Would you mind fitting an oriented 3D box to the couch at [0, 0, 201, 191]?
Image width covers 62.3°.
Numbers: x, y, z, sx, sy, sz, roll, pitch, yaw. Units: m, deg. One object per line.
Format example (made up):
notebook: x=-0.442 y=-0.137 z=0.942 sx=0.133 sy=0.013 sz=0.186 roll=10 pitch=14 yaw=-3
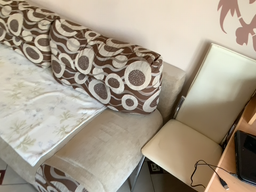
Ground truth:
couch: x=-0.720 y=-0.170 z=1.570 sx=2.000 sy=0.880 sz=0.980 roll=30 pitch=42 yaw=21
